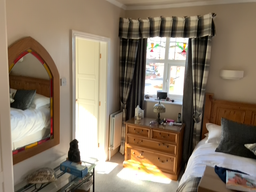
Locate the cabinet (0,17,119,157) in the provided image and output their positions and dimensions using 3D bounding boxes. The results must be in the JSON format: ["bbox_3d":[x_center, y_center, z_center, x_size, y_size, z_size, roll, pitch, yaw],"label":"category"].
[{"bbox_3d":[-1.430,-0.260,4.270,2.410,2.330,0.640,7,11,25],"label":"cabinet"}]

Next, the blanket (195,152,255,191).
[{"bbox_3d":[0.840,0.730,1.610,0.620,0.300,0.530,6,11,20],"label":"blanket"}]

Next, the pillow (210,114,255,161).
[{"bbox_3d":[1.640,0.530,2.480,1.220,0.390,0.380,6,11,22],"label":"pillow"}]
